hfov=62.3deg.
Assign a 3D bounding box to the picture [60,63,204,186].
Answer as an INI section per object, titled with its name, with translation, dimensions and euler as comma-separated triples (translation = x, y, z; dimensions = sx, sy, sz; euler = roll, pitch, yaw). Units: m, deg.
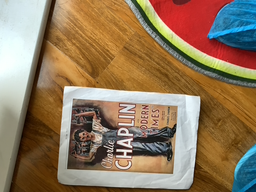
[picture]
translation = 0.010, 0.060, 0.470
dimensions = 0.300, 0.050, 0.250
euler = 1, 91, -5
